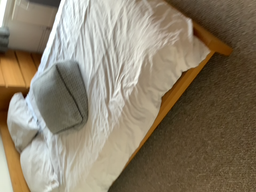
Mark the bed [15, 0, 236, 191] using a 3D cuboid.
[{"bbox_3d":[-0.430,-0.030,2.110,1.590,0.500,2.200,54,125,32],"label":"bed"}]
